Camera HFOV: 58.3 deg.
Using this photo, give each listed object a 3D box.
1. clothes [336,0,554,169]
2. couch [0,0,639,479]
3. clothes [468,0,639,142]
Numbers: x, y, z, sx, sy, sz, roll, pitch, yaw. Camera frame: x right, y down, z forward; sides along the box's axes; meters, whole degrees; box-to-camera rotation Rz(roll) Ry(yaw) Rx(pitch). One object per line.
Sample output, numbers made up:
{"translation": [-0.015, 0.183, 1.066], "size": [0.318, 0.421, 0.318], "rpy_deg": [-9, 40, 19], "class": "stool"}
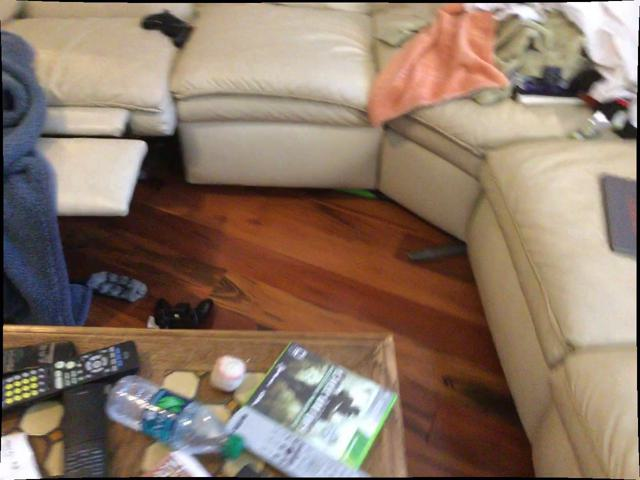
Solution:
{"translation": [0.390, -0.580, 1.670], "size": [0.460, 0.350, 0.640], "rpy_deg": [18, 45, 15], "class": "clothes"}
{"translation": [0.140, -0.310, 1.380], "size": [3.428, 1.000, 2.440], "rpy_deg": [18, 45, 15], "class": "couch"}
{"translation": [0.709, -0.580, 1.530], "size": [0.450, 0.320, 0.530], "rpy_deg": [18, 45, 15], "class": "clothes"}
